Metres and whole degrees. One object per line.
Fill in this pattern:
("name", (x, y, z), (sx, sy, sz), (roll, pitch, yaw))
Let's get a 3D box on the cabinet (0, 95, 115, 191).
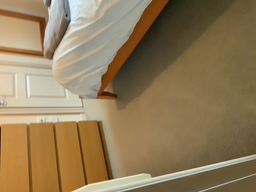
("cabinet", (-0.860, 0.510, 2.030), (0.500, 1.230, 0.880), (-43, 54, 47))
